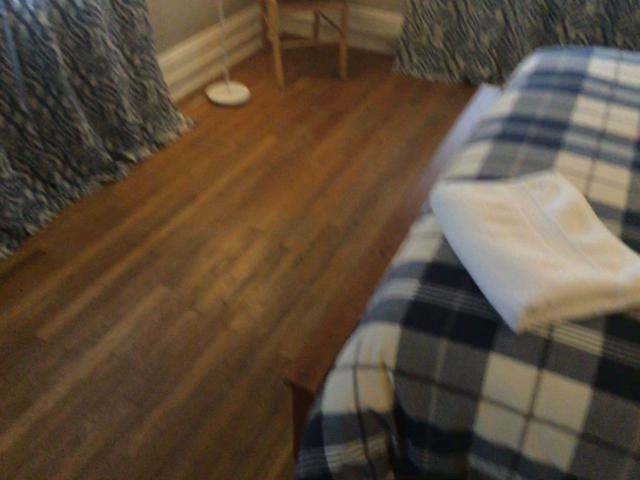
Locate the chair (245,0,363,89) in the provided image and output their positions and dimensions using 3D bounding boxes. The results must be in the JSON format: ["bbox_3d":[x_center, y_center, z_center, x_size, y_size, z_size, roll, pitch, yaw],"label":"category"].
[{"bbox_3d":[-0.110,-1.380,3.130,0.510,0.870,0.620,-10,40,-13],"label":"chair"}]

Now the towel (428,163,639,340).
[{"bbox_3d":[0.410,0.000,1.060,0.310,0.080,0.360,-6,40,-9],"label":"towel"}]
